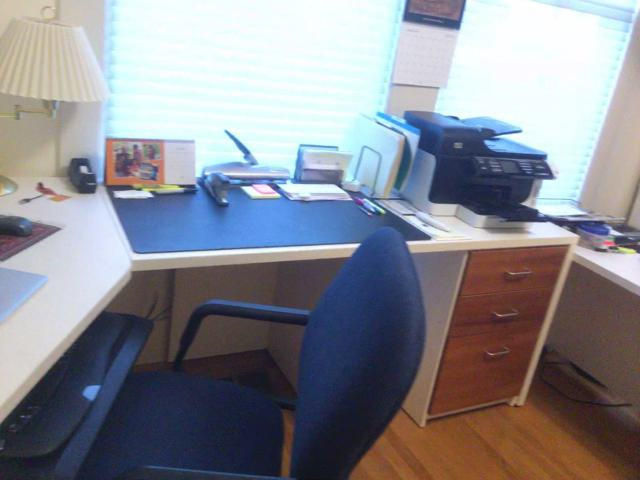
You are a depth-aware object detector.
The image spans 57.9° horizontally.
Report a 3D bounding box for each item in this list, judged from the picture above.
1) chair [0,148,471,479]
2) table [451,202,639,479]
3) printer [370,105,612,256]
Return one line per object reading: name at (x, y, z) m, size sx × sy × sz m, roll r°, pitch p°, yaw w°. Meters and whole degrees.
chair at (-0.220, 0.420, 1.120) m, size 0.680 × 0.990 × 0.690 m, roll 9°, pitch 19°, yaw 1°
table at (1.140, 0.410, 2.010) m, size 0.560 × 0.750 × 1.210 m, roll -1°, pitch 21°, yaw -28°
printer at (0.580, -0.230, 2.080) m, size 0.520 × 0.370 × 0.570 m, roll -1°, pitch 21°, yaw -28°
